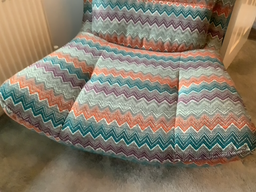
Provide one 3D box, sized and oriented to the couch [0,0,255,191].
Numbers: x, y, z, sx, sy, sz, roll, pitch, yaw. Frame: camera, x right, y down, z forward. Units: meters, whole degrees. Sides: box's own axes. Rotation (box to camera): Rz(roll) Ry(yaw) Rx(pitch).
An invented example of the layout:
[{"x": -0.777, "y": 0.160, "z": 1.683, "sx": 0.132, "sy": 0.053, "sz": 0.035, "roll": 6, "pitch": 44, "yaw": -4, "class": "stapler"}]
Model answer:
[{"x": 0.050, "y": -0.220, "z": 0.900, "sx": 0.860, "sy": 0.860, "sz": 0.870, "roll": 10, "pitch": 41, "yaw": 9, "class": "couch"}]
